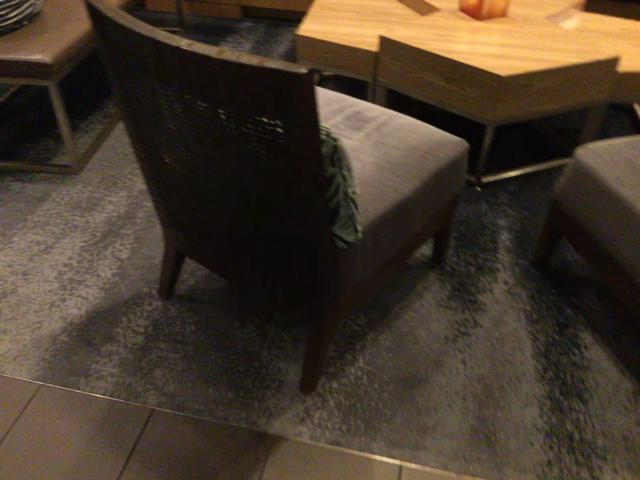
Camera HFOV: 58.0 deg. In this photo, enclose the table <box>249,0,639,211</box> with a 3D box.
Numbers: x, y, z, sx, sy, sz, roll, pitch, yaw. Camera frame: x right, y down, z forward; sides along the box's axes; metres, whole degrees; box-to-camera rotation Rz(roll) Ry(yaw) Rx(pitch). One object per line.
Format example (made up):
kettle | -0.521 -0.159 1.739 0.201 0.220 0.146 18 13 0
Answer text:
table | 0.700 -0.760 2.460 1.600 0.500 1.220 8 42 15
